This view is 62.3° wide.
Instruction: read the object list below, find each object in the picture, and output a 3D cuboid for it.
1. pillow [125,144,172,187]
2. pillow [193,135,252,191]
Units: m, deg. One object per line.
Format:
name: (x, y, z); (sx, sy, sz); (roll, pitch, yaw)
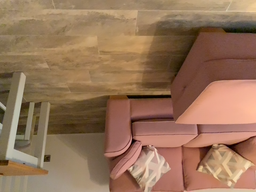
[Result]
pillow: (0.260, 0.820, 2.520); (0.190, 0.470, 0.440); (42, -87, 28)
pillow: (1.130, 0.790, 2.540); (0.240, 0.520, 0.470); (-42, -153, -20)
